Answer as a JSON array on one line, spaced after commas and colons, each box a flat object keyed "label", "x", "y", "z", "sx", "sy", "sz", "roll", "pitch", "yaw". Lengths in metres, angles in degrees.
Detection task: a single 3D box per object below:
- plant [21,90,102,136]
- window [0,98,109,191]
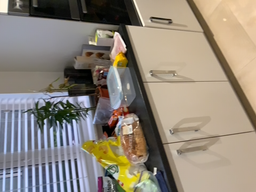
[{"label": "plant", "x": -0.500, "y": 0.120, "z": 1.600, "sx": 0.240, "sy": 0.530, "sz": 0.230, "roll": 121, "pitch": 140, "yaw": -52}, {"label": "window", "x": -0.730, "y": 0.470, "z": 1.540, "sx": 0.030, "sy": 1.110, "sz": 1.010, "roll": 122, "pitch": 140, "yaw": -52}]
